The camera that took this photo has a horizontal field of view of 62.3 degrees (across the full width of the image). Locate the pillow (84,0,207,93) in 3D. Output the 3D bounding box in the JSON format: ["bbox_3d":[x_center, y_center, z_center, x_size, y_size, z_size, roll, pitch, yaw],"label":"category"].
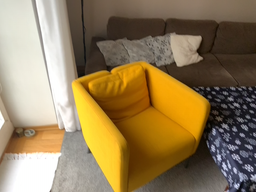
[{"bbox_3d":[0.230,-0.550,2.410,1.350,0.440,0.280,27,34,-22],"label":"pillow"}]

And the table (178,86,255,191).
[{"bbox_3d":[1.020,0.390,1.720,0.930,0.500,0.930,0,37,-5],"label":"table"}]
